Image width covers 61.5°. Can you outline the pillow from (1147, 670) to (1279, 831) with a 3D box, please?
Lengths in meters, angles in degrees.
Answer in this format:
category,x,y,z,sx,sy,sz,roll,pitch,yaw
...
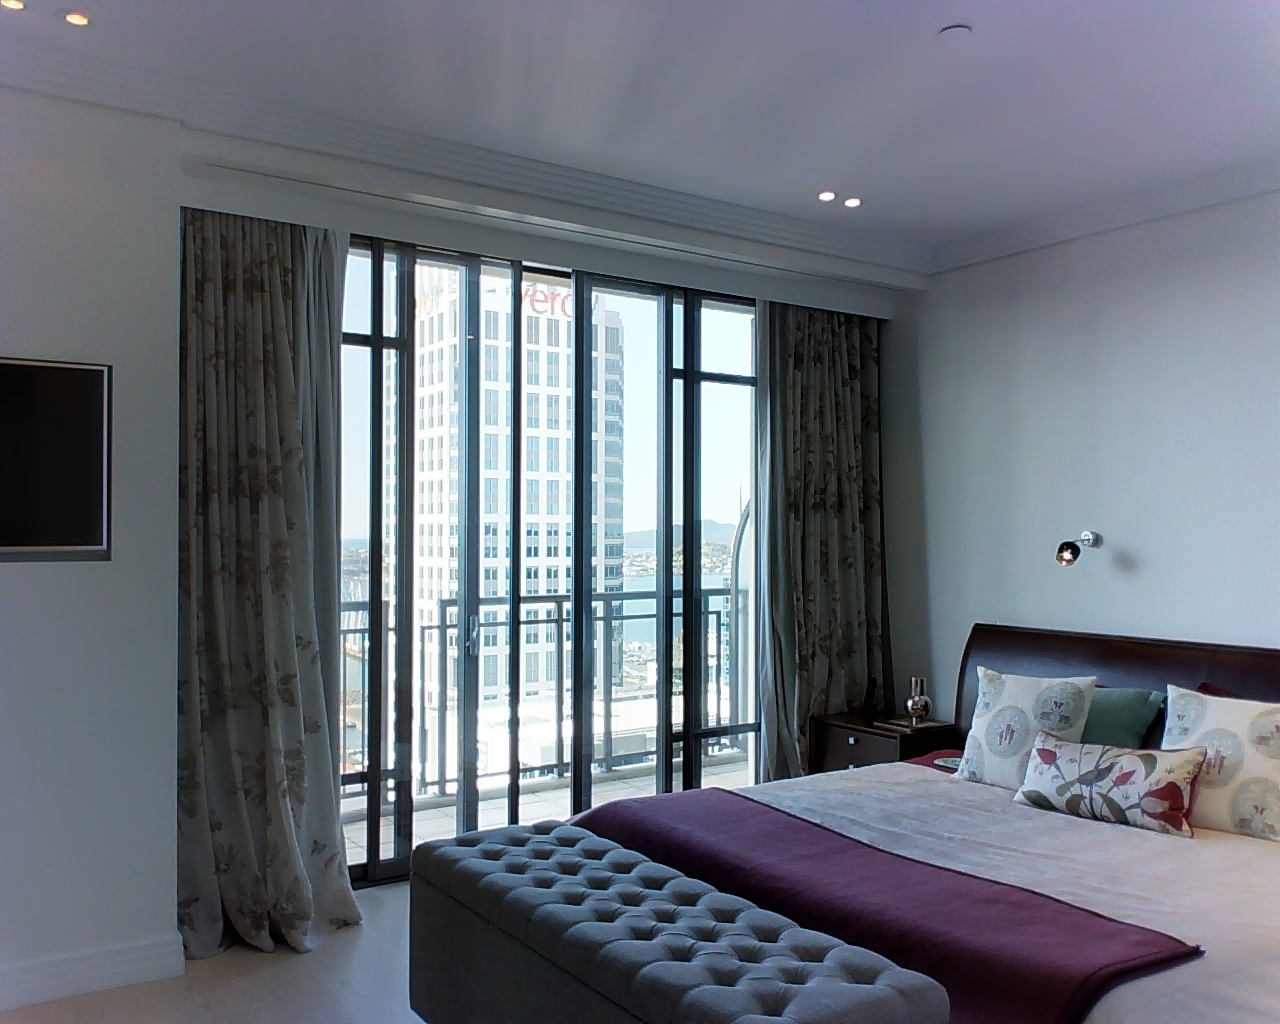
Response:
category,x,y,z,sx,sy,sz,roll,pitch,yaw
pillow,1.900,0.730,3.350,0.340,0.390,0.470,0,0,-34

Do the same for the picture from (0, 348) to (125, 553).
category,x,y,z,sx,sy,sz,roll,pitch,yaw
picture,-1.960,-0.170,2.980,0.950,0.580,0.050,-1,1,-34

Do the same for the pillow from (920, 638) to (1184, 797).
category,x,y,z,sx,sy,sz,roll,pitch,yaw
pillow,1.540,0.740,4.050,0.580,0.420,0.740,0,0,-40
